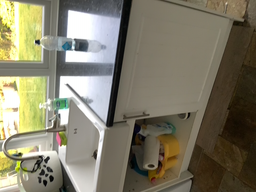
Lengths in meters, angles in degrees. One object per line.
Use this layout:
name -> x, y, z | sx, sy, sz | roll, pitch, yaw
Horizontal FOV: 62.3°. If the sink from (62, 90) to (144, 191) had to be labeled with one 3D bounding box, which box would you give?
sink -> -0.210, 0.360, 1.400 | 0.530, 0.250, 0.650 | 34, 121, 49
